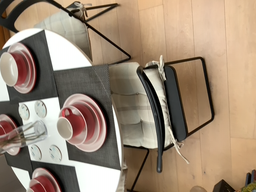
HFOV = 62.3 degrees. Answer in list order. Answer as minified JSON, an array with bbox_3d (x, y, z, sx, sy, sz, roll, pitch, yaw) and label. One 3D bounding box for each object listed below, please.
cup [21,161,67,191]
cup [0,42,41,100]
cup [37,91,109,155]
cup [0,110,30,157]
[{"bbox_3d":[-0.450,0.530,1.170,0.220,0.090,0.300,-6,98,33],"label":"cup"},{"bbox_3d":[-0.570,-0.120,1.080,0.230,0.080,0.270,0,101,32],"label":"cup"},{"bbox_3d":[-0.240,0.110,0.920,0.250,0.130,0.230,-4,99,33],"label":"cup"},{"bbox_3d":[-0.750,0.220,1.280,0.270,0.110,0.240,-5,98,33],"label":"cup"}]
